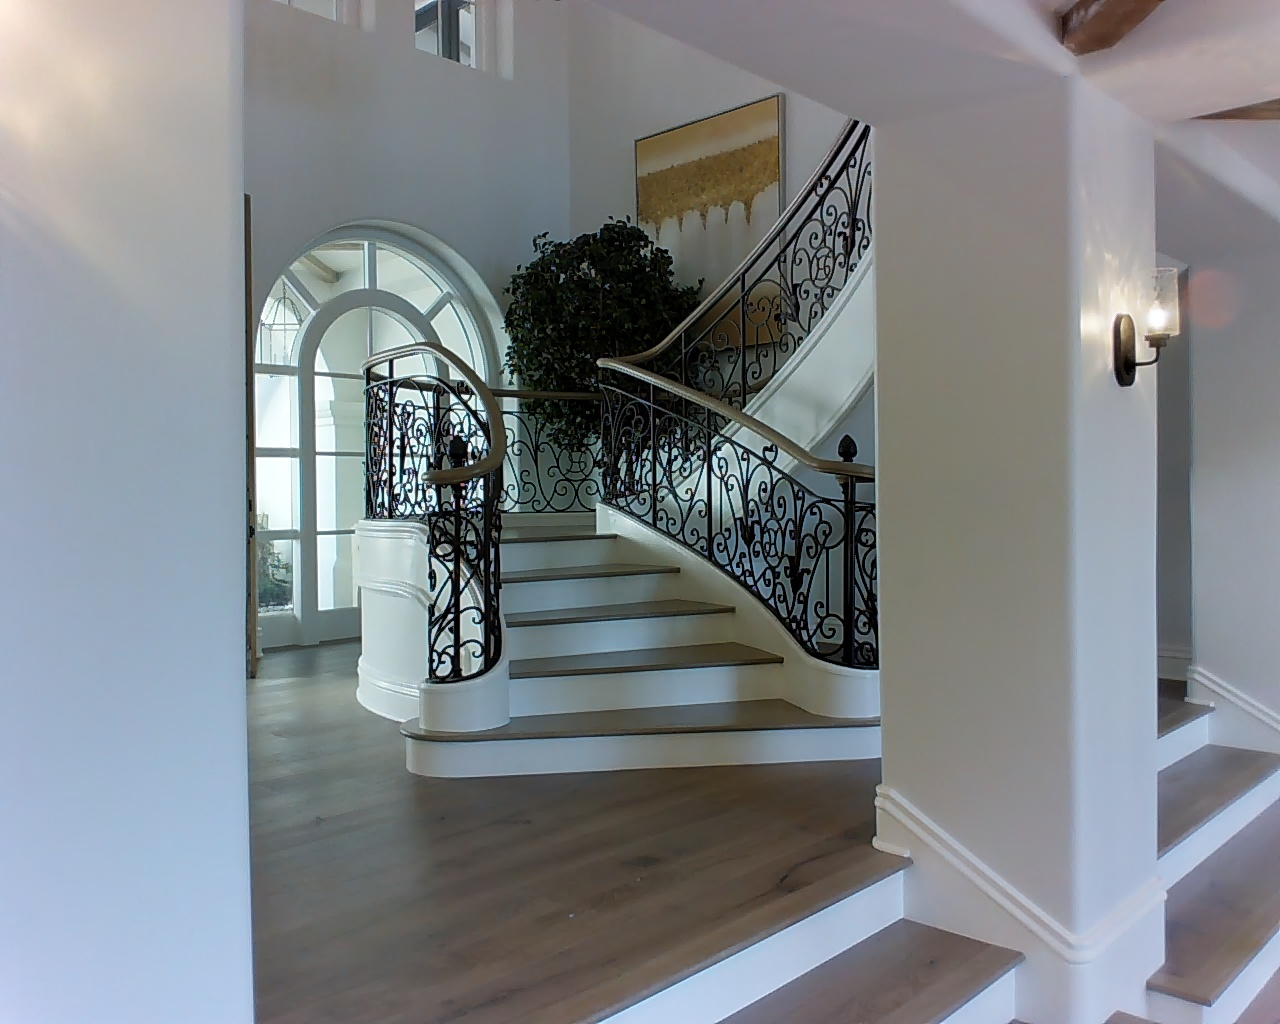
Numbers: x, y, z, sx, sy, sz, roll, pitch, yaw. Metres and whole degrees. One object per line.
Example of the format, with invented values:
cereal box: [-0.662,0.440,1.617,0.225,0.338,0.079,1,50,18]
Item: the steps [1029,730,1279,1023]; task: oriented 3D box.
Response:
steps: [2.369,1.330,4.140,0.590,0.460,2.660,0,1,44]
